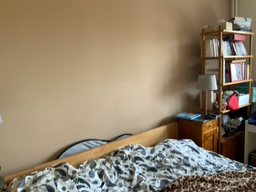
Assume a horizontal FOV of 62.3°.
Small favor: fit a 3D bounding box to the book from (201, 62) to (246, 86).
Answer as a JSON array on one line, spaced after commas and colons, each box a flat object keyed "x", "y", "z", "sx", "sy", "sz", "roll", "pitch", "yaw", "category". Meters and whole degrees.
[{"x": 1.370, "y": -0.320, "z": 3.020, "sx": 0.730, "sy": 0.290, "sz": 0.260, "roll": -8, "pitch": 10, "yaw": -37, "category": "book"}]

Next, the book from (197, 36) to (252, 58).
[{"x": 1.340, "y": -0.650, "z": 2.910, "sx": 0.840, "sy": 0.240, "sz": 0.310, "roll": -8, "pitch": 10, "yaw": -36, "category": "book"}]
